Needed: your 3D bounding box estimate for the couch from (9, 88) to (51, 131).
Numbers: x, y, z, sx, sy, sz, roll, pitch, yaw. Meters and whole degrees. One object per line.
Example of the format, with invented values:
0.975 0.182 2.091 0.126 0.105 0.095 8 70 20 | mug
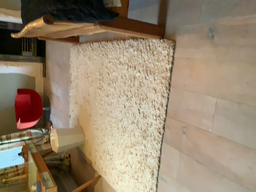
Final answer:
-2.310 0.310 4.950 0.780 0.700 0.760 -34 64 51 | couch
